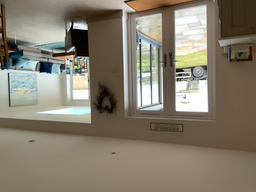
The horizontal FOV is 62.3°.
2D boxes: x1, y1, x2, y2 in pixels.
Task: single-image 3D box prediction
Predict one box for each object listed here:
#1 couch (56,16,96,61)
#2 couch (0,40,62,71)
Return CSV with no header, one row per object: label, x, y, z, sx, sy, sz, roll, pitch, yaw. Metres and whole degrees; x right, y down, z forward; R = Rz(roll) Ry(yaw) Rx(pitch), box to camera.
couch,-1.230,-1.280,4.940,0.730,0.780,0.870,-2,-178,-26
couch,-3.740,-1.370,7.620,0.890,0.750,2.890,0,-178,26
